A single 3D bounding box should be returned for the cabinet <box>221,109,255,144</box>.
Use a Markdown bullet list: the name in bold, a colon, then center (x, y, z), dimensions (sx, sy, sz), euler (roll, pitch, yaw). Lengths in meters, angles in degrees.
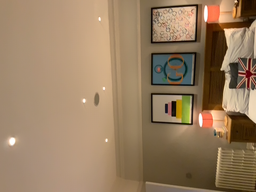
- **cabinet**: center (2.140, 0.550, 3.890), dimensions (0.500, 0.710, 0.460), euler (-47, -44, -70)
